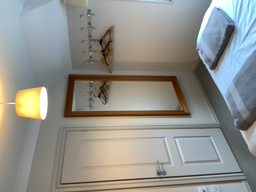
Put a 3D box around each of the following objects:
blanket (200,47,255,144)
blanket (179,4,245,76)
[{"bbox_3d":[0.780,-0.020,1.450,0.120,0.540,0.460,-12,-152,-34],"label":"blanket"},{"bbox_3d":[0.720,-0.520,1.920,0.100,0.550,0.480,-11,-152,-32],"label":"blanket"}]
